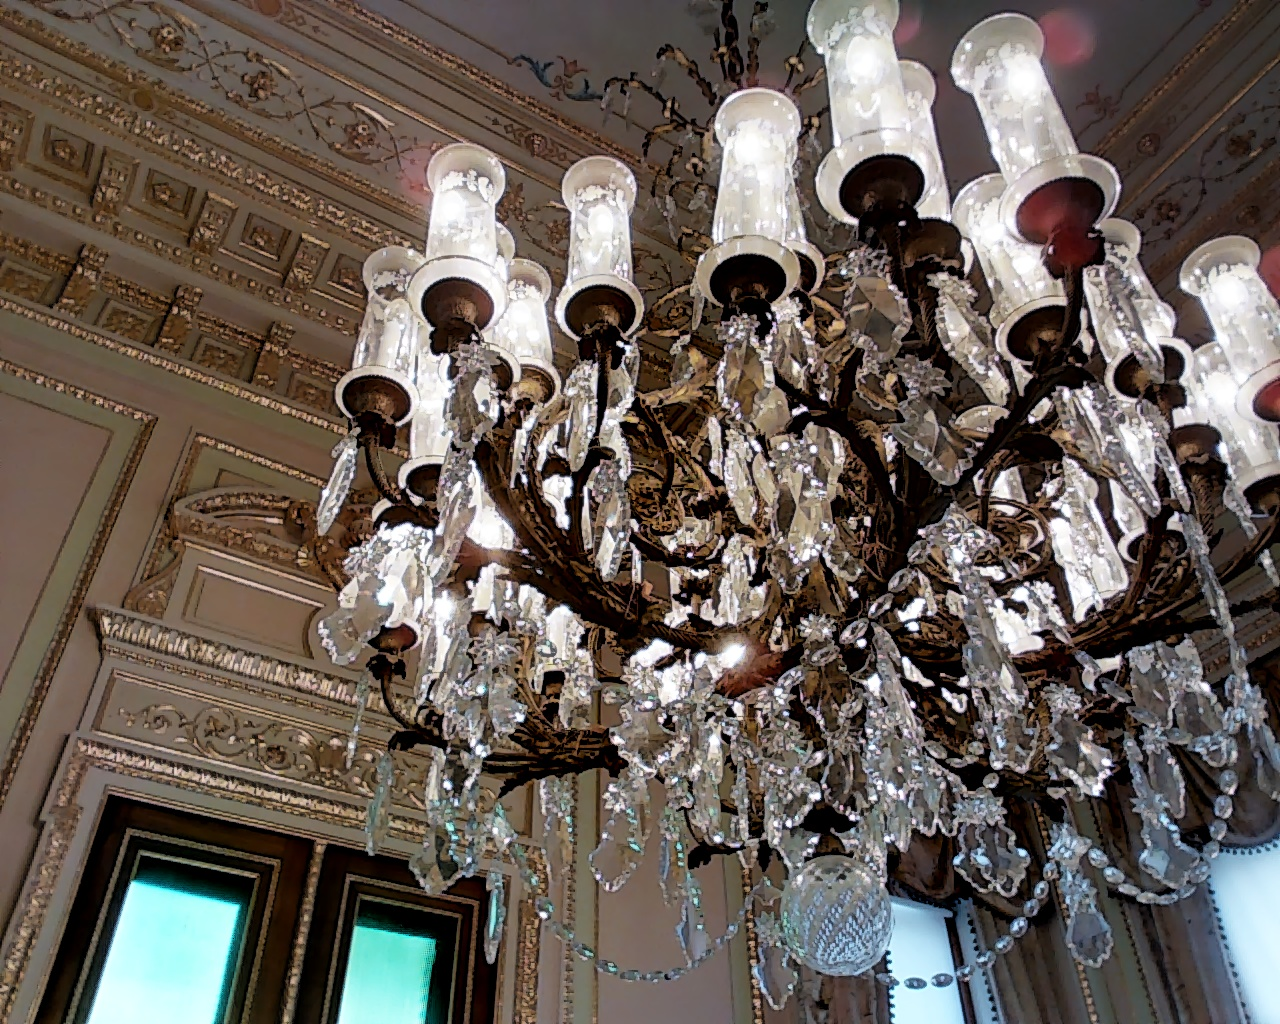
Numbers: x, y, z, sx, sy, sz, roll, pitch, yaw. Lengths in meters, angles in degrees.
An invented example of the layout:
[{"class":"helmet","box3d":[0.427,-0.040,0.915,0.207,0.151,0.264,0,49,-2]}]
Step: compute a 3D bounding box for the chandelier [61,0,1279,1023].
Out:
[{"class":"chandelier","box3d":[0.300,0.200,1.590,1.489,0.530,1.400,-27,-48,27]}]
